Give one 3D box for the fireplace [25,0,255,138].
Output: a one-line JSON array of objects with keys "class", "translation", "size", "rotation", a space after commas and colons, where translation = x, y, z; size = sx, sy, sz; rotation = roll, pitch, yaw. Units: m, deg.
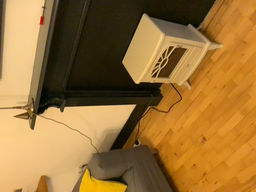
[{"class": "fireplace", "translation": [0.050, -0.290, 1.370], "size": [0.260, 1.150, 1.290], "rotation": [60, 136, 36]}]
